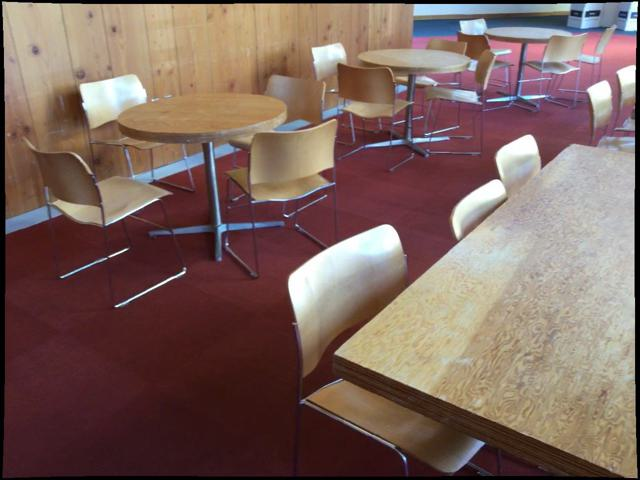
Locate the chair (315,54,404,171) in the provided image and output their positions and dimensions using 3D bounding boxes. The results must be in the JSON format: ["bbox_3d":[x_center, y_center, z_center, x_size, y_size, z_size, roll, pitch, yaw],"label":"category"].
[{"bbox_3d":[0.280,-0.951,4.270,0.500,0.711,0.400,18,32,31],"label":"chair"}]

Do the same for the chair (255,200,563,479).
[{"bbox_3d":[0.230,0.360,1.620,0.610,0.701,0.500,18,32,31],"label":"chair"}]

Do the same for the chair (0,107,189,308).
[{"bbox_3d":[-1.059,-0.190,2.740,0.510,0.691,0.610,18,32,31],"label":"chair"}]

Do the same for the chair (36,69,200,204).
[{"bbox_3d":[-1.269,-0.691,3.690,0.740,0.610,0.580,18,32,31],"label":"chair"}]
